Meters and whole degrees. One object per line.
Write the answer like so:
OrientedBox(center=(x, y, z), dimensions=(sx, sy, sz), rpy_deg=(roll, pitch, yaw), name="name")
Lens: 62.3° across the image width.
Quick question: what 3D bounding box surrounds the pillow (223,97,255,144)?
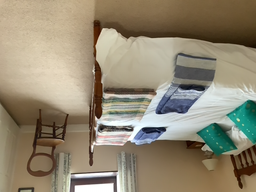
OrientedBox(center=(1.220, 0.250, 2.120), dimensions=(0.170, 0.350, 0.310), rpy_deg=(-31, 161, -26), name="pillow")
